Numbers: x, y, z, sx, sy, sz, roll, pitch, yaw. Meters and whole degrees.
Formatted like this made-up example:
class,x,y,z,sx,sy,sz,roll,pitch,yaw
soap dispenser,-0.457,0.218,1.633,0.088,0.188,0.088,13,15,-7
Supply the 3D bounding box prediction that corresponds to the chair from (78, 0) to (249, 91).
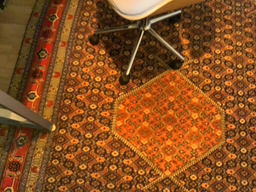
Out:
class,x,y,z,sx,sy,sz,roll,pitch,yaw
chair,0.090,-0.520,0.990,0.620,0.830,0.590,-19,73,-8
